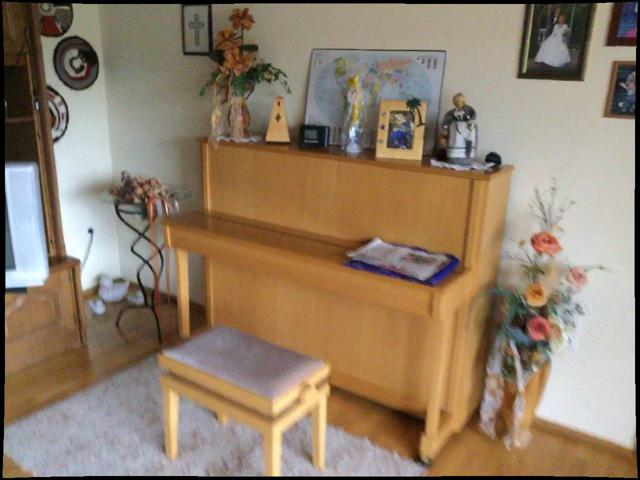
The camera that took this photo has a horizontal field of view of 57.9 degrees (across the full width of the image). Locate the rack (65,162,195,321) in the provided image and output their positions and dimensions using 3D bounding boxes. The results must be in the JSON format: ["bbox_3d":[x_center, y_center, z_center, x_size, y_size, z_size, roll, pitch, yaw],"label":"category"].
[{"bbox_3d":[-1.069,-0.020,3.340,0.400,0.731,0.560,15,22,30],"label":"rack"}]

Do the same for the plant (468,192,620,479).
[{"bbox_3d":[0.879,0.360,2.290,0.310,1.001,0.410,15,22,29],"label":"plant"}]
